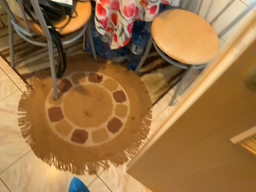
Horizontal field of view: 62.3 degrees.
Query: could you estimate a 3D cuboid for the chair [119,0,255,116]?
[{"bbox_3d":[0.320,-0.330,1.220,0.430,0.760,0.480,43,62,12],"label":"chair"}]
